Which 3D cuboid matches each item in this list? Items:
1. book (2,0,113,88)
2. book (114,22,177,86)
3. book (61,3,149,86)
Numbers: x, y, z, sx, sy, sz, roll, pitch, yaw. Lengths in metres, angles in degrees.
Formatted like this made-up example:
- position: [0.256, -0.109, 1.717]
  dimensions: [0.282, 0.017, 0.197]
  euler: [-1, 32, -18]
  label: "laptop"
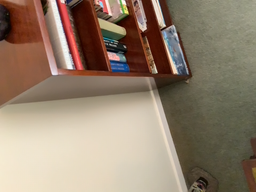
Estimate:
- position: [-0.230, -0.180, 0.670]
  dimensions: [0.280, 0.160, 0.230]
  euler: [-20, 83, 36]
  label: "book"
- position: [0.090, -0.210, 1.130]
  dimensions: [0.230, 0.160, 0.250]
  euler: [-19, 84, 36]
  label: "book"
- position: [-0.100, -0.190, 0.880]
  dimensions: [0.270, 0.180, 0.220]
  euler: [-19, 84, 36]
  label: "book"
